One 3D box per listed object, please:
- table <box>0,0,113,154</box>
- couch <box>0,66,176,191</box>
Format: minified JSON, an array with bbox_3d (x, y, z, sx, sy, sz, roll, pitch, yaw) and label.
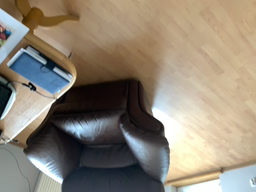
[{"bbox_3d":[-0.680,-0.200,1.270,0.560,0.660,1.050,33,133,-30],"label":"table"},{"bbox_3d":[-0.180,0.490,1.820,1.080,0.960,0.960,-6,139,13],"label":"couch"}]
